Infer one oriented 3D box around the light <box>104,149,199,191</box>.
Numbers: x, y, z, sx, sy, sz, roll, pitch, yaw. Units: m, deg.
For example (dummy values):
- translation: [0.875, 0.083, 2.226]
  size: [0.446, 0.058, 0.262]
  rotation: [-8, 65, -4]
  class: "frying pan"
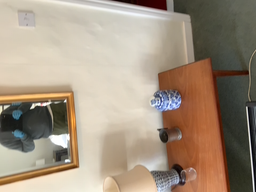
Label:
- translation: [0.160, 0.550, 1.380]
  size: [0.240, 0.560, 0.270]
  rotation: [-12, 84, 60]
  class: "light"
